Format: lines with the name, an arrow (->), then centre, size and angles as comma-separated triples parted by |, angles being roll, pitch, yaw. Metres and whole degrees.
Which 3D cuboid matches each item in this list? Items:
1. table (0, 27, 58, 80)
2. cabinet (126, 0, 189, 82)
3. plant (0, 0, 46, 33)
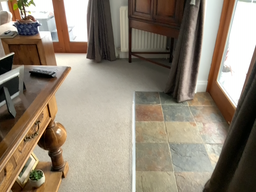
table -> -1.360, -0.580, 2.900 | 0.570, 0.600, 0.420 | 0, 31, 0
cabinet -> 0.320, -1.210, 2.700 | 0.680, 1.900, 0.820 | -1, 31, -1
plant -> -1.350, -1.100, 2.700 | 0.400, 0.510, 0.270 | 2, 31, 3
